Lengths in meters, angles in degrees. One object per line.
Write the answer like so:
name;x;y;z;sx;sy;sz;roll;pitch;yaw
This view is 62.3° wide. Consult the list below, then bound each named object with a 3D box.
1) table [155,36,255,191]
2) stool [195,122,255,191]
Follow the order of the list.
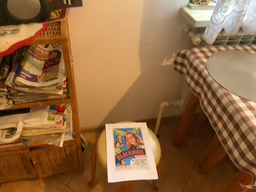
table;0.790;0.180;1.210;0.980;0.770;0.710;-5;44;-12
stool;0.630;0.410;1.170;0.300;0.470;0.300;0;44;-7
